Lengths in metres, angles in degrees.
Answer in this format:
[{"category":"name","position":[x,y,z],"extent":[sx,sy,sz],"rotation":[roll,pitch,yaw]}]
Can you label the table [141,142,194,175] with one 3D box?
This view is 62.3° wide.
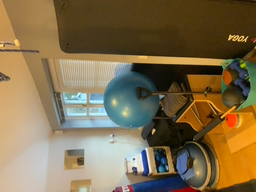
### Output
[{"category":"table","position":[0.620,1.000,3.410],"extent":[0.270,0.730,0.410],"rotation":[110,157,-60]}]
